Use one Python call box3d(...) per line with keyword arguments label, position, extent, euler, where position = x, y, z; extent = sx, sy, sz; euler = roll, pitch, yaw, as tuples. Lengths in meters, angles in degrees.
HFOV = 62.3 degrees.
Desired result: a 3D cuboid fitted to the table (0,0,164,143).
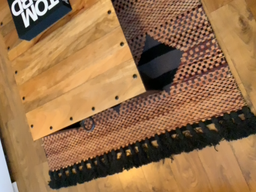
box3d(label="table", position=(-0.380, -0.500, 1.160), extent=(0.660, 0.330, 1.310), euler=(-23, 82, 22))
